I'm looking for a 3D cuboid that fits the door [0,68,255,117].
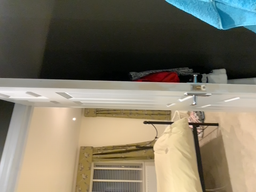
[{"bbox_3d":[0.190,0.030,1.280,0.890,2.190,0.090,109,163,-82],"label":"door"}]
